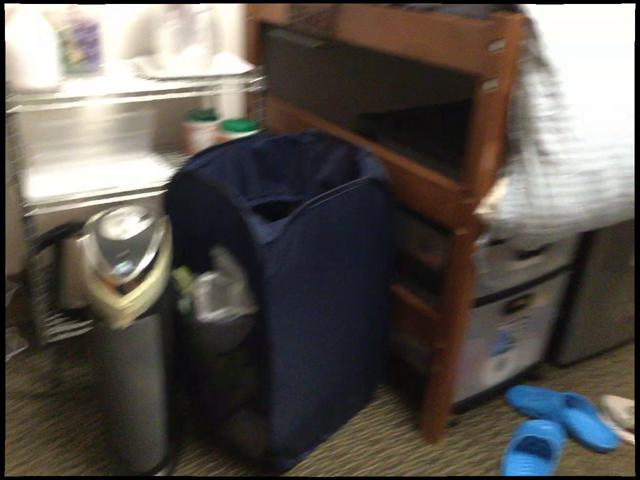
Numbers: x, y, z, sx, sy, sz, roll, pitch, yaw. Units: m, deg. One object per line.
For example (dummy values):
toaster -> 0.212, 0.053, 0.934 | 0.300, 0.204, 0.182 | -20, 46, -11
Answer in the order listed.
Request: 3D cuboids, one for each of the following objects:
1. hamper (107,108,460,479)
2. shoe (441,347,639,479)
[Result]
hamper -> -0.090, 0.120, 1.340 | 0.530, 0.651, 0.490 | -24, 40, -39
shoe -> 0.549, 0.451, 1.440 | 0.399, 0.100, 0.270 | -16, 36, -31
